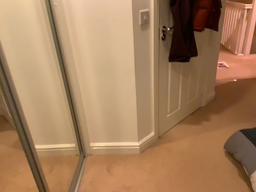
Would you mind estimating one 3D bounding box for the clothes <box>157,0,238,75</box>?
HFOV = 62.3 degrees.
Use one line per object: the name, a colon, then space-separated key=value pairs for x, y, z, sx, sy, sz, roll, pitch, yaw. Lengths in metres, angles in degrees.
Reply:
clothes: x=0.550 y=-0.810 z=1.550 sx=0.790 sy=1.090 sz=0.230 roll=-27 pitch=36 yaw=-37
